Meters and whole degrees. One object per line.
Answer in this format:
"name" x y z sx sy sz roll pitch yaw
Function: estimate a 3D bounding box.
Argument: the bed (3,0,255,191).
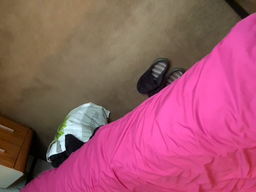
"bed" 0.280 0.640 1.670 1.650 0.740 2.110 34 125 -30
